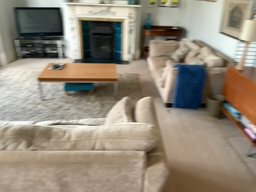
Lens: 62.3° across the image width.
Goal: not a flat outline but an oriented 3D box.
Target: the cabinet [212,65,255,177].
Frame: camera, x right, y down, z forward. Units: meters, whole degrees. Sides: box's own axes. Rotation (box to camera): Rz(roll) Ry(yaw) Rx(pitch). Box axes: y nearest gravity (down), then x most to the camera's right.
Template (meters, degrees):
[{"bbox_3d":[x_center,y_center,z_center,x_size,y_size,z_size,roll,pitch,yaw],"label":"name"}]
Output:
[{"bbox_3d":[1.450,0.350,2.110,0.370,0.790,1.770,2,26,-3],"label":"cabinet"}]
